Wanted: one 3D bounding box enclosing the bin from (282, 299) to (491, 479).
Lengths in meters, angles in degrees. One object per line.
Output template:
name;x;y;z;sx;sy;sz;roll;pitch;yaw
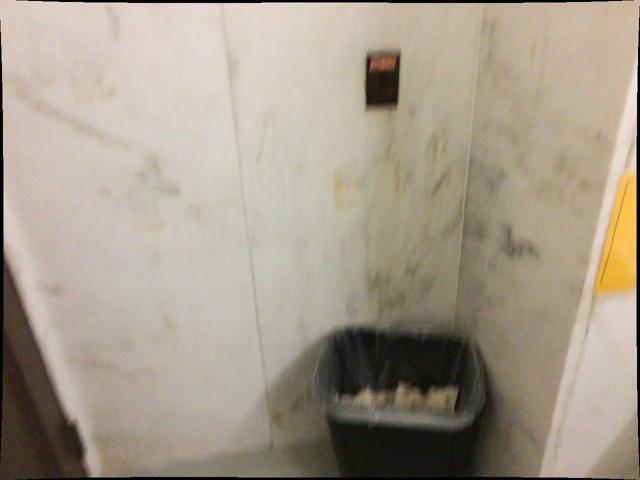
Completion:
bin;0.180;0.470;1.470;0.440;0.460;0.360;7;30;14
